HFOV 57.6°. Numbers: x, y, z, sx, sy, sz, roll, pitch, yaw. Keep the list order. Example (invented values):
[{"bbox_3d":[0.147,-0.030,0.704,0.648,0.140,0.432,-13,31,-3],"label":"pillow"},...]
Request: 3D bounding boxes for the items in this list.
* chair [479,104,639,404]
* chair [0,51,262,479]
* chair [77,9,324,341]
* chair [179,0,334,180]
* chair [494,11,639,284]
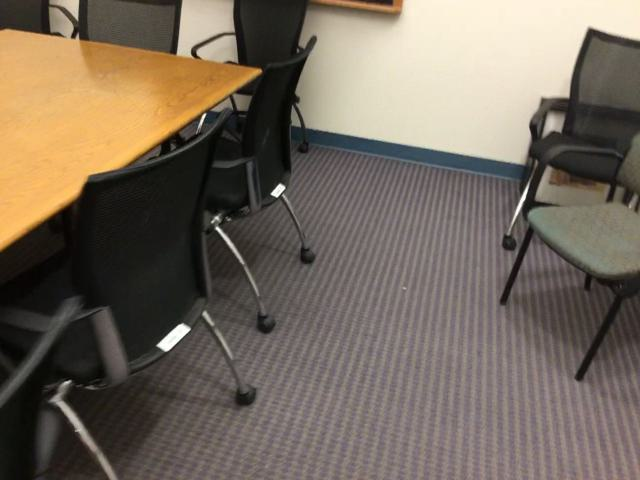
[{"bbox_3d":[1.000,0.020,1.930,0.580,0.770,0.520,-8,35,-19],"label":"chair"},{"bbox_3d":[-0.540,0.110,1.470,0.590,0.930,0.650,11,33,9],"label":"chair"},{"bbox_3d":[-0.370,-0.250,2.110,0.570,0.940,0.630,11,33,9],"label":"chair"},{"bbox_3d":[-0.330,-0.920,3.140,0.540,0.930,0.590,20,35,22],"label":"chair"},{"bbox_3d":[1.240,-0.420,2.500,0.540,0.910,0.610,28,39,32],"label":"chair"}]
